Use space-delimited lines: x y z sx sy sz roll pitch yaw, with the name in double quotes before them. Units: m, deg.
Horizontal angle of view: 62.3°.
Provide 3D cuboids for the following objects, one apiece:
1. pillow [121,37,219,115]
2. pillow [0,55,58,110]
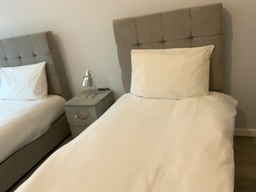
"pillow" 0.340 -0.190 1.870 0.720 0.470 0.200 17 26 13
"pillow" -1.250 -0.170 2.550 0.790 0.450 0.220 14 25 13
